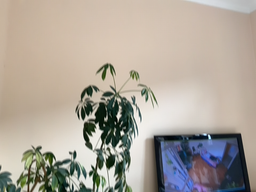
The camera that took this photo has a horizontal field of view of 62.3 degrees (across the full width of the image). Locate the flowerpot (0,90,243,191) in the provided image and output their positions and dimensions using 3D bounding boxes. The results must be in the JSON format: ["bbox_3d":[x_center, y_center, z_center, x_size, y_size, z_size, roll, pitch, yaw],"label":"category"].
[{"bbox_3d":[-0.200,0.950,1.300,1.310,1.780,1.050,2,-10,-15],"label":"flowerpot"}]
